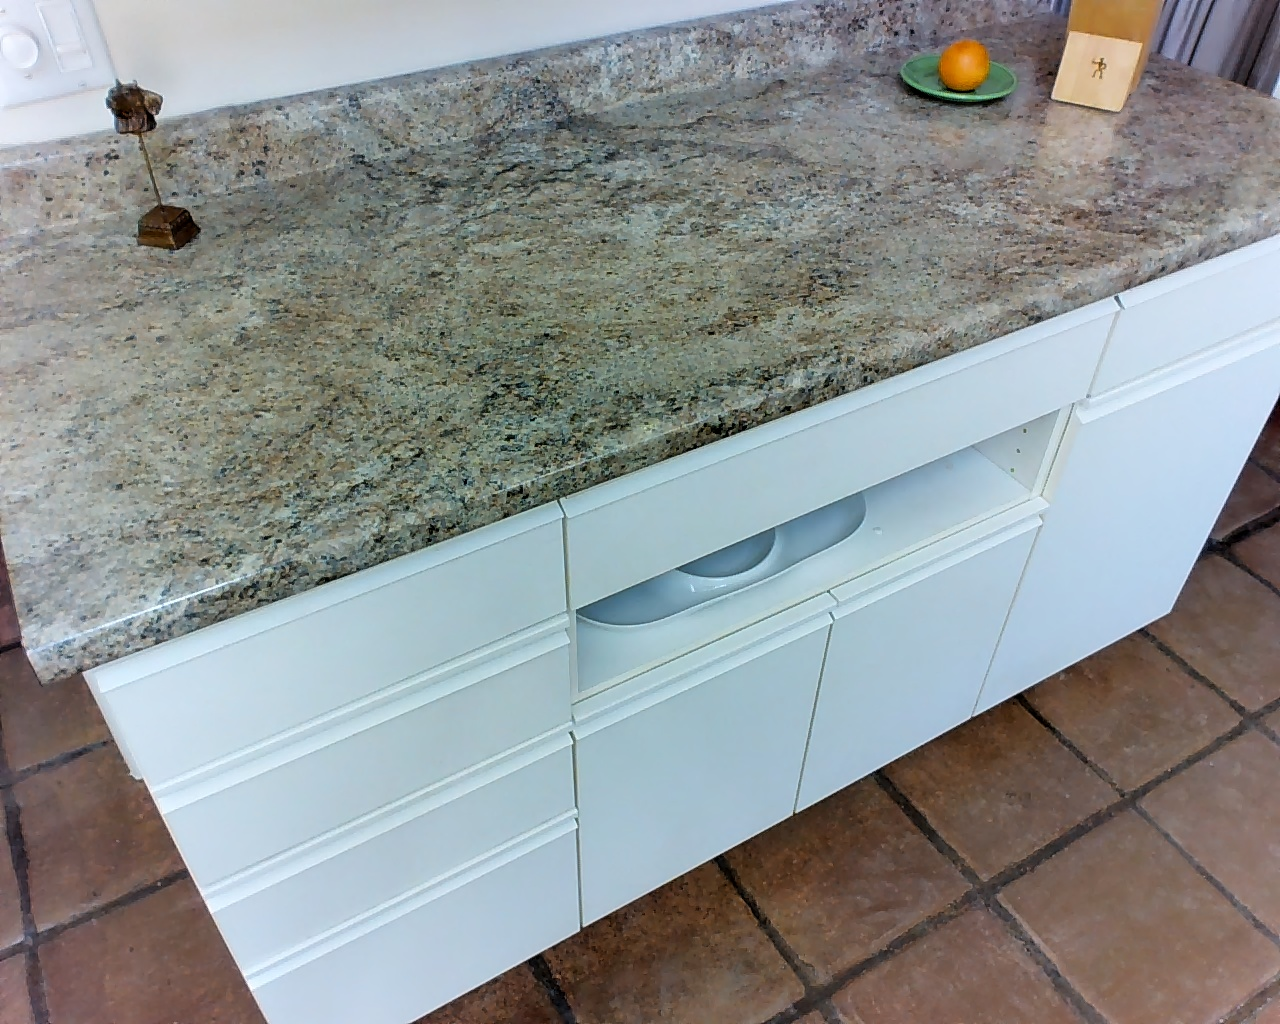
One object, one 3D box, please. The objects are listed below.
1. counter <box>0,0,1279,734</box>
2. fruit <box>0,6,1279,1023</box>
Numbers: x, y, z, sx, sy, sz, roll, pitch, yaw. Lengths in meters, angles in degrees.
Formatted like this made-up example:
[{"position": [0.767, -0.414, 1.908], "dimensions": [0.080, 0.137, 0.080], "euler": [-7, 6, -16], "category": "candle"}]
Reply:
[{"position": [0.120, -0.360, 1.180], "dimensions": [1.600, 0.150, 0.650], "euler": [-21, 46, -22], "category": "counter"}, {"position": [0.120, 0.000, 1.490], "dimensions": [1.600, 0.930, 0.650], "euler": [-21, 46, -22], "category": "fruit"}]
